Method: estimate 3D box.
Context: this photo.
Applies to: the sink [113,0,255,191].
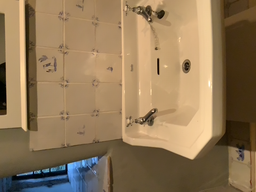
[{"bbox_3d":[0.190,-0.050,0.830,0.470,0.350,0.710,-176,86,-66],"label":"sink"}]
